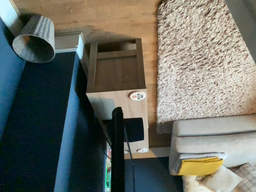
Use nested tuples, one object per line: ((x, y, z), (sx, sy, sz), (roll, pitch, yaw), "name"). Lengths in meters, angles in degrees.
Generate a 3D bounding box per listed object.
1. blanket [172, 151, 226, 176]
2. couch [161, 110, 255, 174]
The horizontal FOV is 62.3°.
((0.840, 0.850, 2.630), (0.510, 0.110, 0.620), (-3, 147, 3), "blanket")
((1.120, 0.680, 2.900), (1.230, 0.460, 1.050), (-4, 147, 3), "couch")
